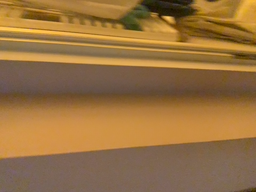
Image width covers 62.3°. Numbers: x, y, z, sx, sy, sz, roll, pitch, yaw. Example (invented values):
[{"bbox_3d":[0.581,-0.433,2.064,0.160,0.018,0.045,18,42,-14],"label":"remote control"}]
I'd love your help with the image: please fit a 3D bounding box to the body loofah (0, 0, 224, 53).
[{"bbox_3d":[-0.120,-0.480,1.040,0.340,1.130,0.380,-122,37,-56],"label":"body loofah"}]
